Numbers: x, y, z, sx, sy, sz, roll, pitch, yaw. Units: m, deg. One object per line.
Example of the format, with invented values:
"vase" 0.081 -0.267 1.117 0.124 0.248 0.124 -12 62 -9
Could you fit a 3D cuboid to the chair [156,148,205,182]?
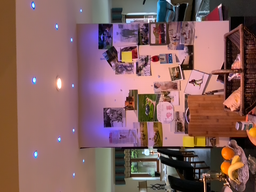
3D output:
"chair" 1.200 1.600 4.960 0.440 1.040 0.630 -82 -9 -86
